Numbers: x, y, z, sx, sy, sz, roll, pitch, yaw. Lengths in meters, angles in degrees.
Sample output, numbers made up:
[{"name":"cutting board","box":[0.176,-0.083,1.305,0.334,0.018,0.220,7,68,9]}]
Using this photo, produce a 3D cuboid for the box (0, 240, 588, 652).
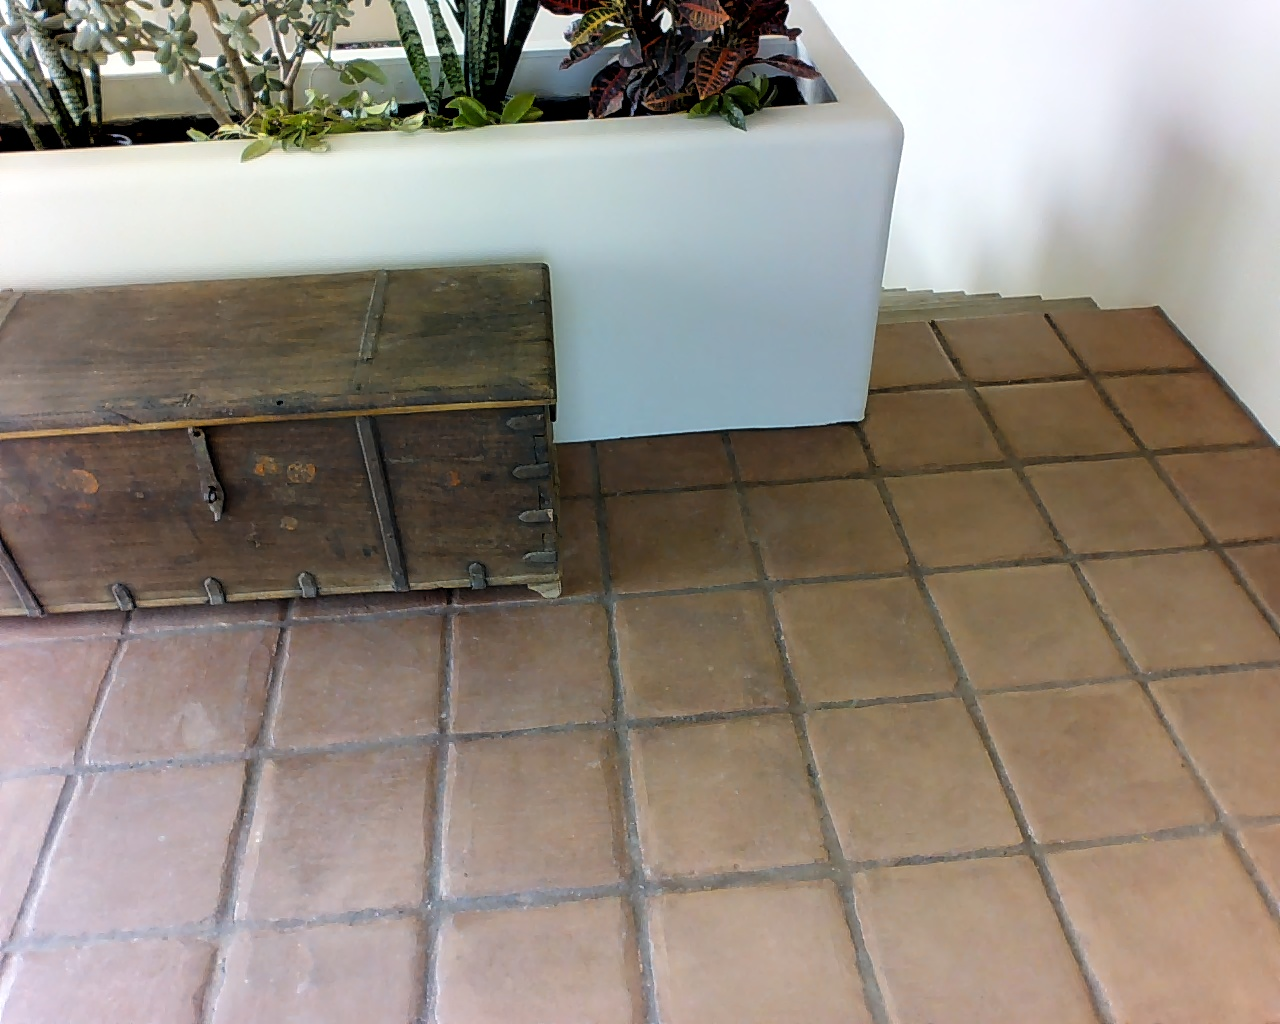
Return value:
[{"name":"box","box":[-0.810,-0.130,2.050,1.370,0.500,0.530,-4,41,-4]}]

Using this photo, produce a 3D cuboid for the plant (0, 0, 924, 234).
[{"name":"plant","box":[-1.220,-1.020,1.950,3.379,0.800,0.630,-4,41,-4]}]
